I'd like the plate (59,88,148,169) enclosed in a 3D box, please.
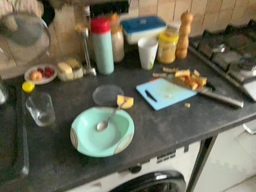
[{"bbox_3d":[-0.090,0.090,0.710,0.220,0.040,0.240,-18,45,-18],"label":"plate"}]

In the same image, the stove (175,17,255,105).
[{"bbox_3d":[0.640,-0.230,1.040,0.610,0.040,0.540,-16,44,-15],"label":"stove"}]
